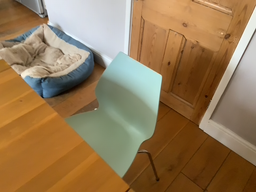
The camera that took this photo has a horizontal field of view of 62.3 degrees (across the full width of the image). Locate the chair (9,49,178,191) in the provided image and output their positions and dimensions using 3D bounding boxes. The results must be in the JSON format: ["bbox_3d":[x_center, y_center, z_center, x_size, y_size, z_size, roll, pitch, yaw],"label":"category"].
[{"bbox_3d":[-0.150,0.250,1.130,0.460,0.720,0.510,36,53,26],"label":"chair"}]
